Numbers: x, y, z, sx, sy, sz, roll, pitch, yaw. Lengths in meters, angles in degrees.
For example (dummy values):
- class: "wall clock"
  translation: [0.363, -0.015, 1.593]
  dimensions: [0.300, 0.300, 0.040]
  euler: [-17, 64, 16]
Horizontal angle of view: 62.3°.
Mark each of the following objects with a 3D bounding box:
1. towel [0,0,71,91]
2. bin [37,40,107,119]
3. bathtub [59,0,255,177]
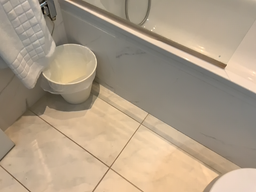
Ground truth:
- class: "towel"
  translation: [-0.410, -0.260, 0.900]
  dimensions: [0.120, 0.440, 0.250]
  euler: [32, 59, 16]
- class: "bin"
  translation: [-0.300, -0.090, 1.220]
  dimensions: [0.240, 0.280, 0.260]
  euler: [35, 60, 17]
- class: "bathtub"
  translation: [0.540, -0.140, 1.140]
  dimensions: [1.670, 0.520, 0.670]
  euler: [30, 59, 15]
